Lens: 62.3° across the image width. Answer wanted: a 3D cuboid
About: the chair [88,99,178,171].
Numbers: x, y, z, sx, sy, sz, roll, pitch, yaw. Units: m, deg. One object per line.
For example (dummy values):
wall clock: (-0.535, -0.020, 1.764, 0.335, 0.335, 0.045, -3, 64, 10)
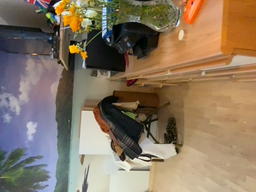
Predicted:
chair: (0.000, 0.470, 2.490, 0.590, 0.870, 0.590, 112, 157, -50)
